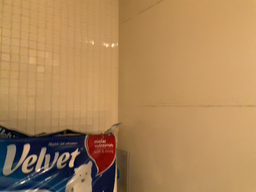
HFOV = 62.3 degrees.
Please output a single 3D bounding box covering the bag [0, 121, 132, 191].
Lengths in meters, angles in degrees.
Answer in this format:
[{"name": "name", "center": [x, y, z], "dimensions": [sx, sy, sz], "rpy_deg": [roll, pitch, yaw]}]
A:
[{"name": "bag", "center": [-0.220, 0.260, 0.620], "dimensions": [0.460, 0.350, 0.140], "rpy_deg": [3, -3, -34]}]
